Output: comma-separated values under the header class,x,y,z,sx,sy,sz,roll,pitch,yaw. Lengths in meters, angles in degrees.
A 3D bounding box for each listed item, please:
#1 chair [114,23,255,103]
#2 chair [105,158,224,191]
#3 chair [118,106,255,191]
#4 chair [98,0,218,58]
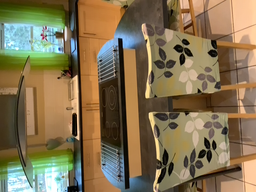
class,x,y,z,sx,sy,sz,roll,pitch,yaw
chair,0.430,-0.190,1.580,0.500,0.920,0.420,171,97,-65
chair,0.330,0.890,1.830,0.410,0.940,0.490,169,98,-65
chair,0.460,0.310,1.540,0.520,0.920,0.420,171,97,-65
chair,0.260,-0.690,1.890,0.450,0.930,0.560,169,98,-65
